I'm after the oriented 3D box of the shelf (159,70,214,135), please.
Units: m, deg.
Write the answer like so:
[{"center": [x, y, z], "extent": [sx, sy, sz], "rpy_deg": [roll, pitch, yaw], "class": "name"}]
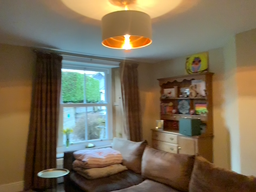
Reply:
[{"center": [1.120, 0.130, 4.270], "extent": [0.230, 1.140, 1.190], "rpy_deg": [0, -1, -34], "class": "shelf"}]
